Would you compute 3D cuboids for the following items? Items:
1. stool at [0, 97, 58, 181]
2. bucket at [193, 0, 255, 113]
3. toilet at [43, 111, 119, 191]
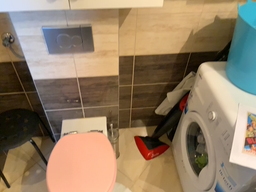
[{"bbox_3d":[-0.720,0.300,1.460,0.350,0.450,0.330,-6,46,-9],"label":"stool"},{"bbox_3d":[0.600,-0.220,0.990,0.350,0.290,0.490,-5,46,-8],"label":"bucket"},{"bbox_3d":[-0.270,0.470,1.330,0.360,0.440,0.570,-6,46,-9],"label":"toilet"}]
